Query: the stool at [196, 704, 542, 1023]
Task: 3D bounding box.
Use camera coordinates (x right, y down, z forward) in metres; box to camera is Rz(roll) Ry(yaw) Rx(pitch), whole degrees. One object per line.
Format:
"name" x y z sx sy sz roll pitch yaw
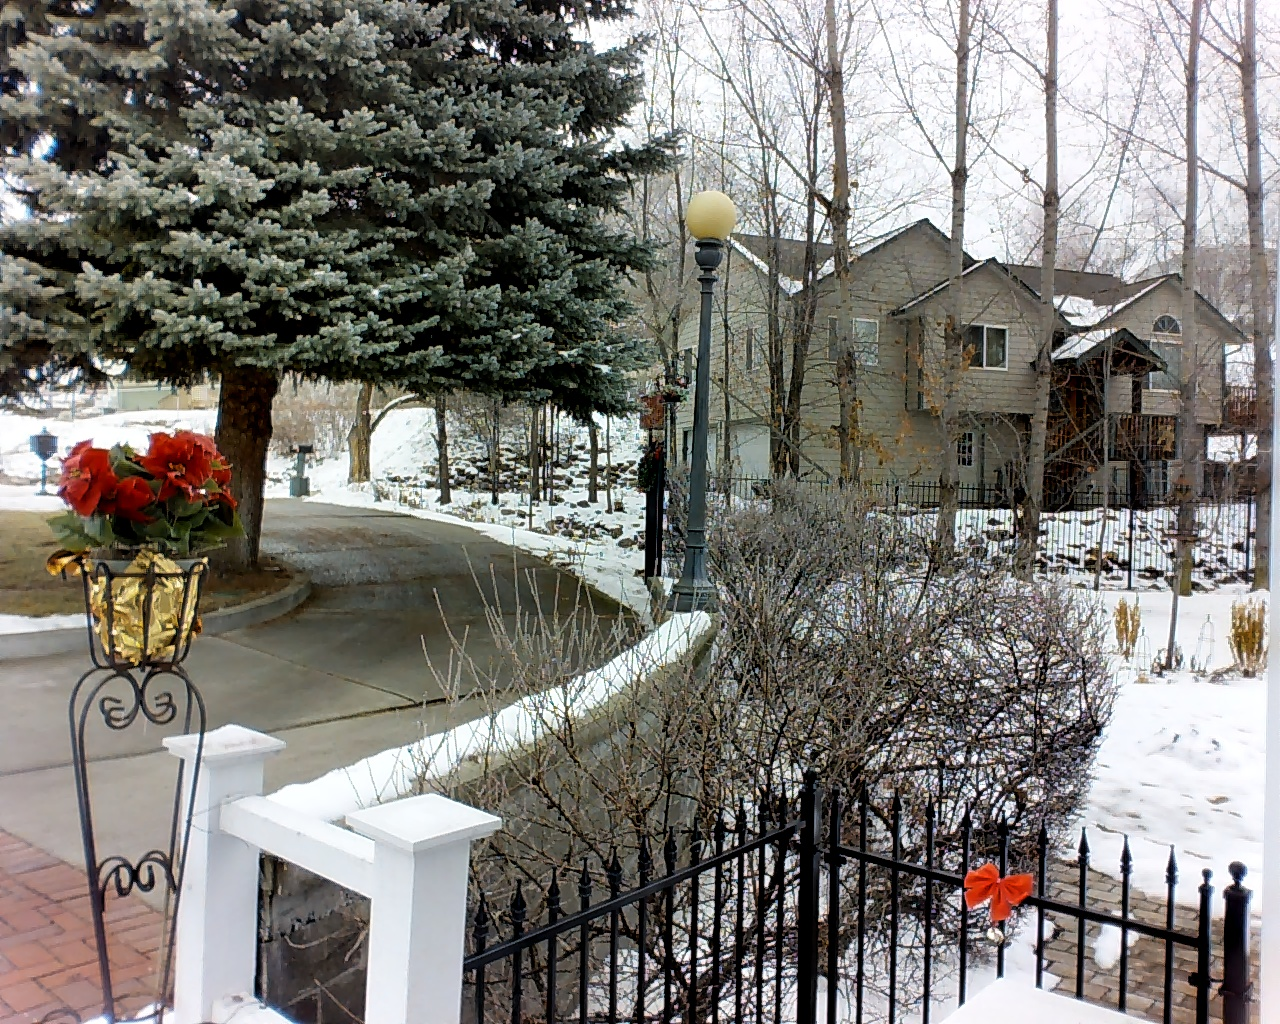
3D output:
"stool" -0.660 1.000 2.520 0.890 0.960 0.310 0 -1 39
